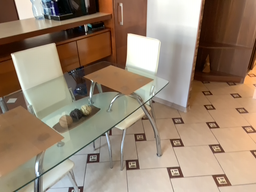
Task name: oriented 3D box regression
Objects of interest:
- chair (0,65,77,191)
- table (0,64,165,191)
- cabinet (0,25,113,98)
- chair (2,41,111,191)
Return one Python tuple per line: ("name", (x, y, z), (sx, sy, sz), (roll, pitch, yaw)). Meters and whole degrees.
("chair", (-0.650, 0.410, 1.150), (0.380, 0.970, 0.540), (21, 36, 33))
("table", (-0.370, 0.340, 1.520), (0.690, 0.700, 1.150), (24, 38, 36))
("cabinet", (-0.650, -0.310, 1.690), (0.240, 0.280, 1.230), (24, 38, 36))
("chair", (-0.470, 0.160, 1.570), (0.510, 0.970, 0.390), (22, 37, 34))
